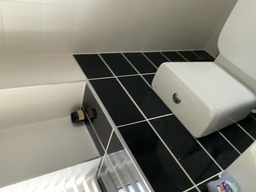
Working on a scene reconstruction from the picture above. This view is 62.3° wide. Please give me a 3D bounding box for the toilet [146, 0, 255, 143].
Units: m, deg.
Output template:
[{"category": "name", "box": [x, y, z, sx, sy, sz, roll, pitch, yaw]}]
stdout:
[{"category": "toilet", "box": [0.580, -0.230, 0.950, 0.370, 0.760, 0.650, 54, 139, 36]}]
